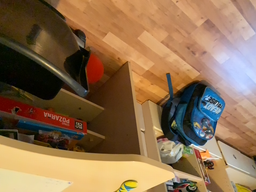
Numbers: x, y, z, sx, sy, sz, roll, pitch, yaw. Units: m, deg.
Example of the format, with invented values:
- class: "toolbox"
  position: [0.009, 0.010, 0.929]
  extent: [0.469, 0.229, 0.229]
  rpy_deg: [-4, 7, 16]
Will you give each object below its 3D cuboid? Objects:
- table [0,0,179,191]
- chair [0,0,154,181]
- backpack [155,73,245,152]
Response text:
- class: "table"
  position: [-0.530, 0.010, 0.920]
  extent: [1.100, 0.730, 0.820]
  rpy_deg: [27, 128, -33]
- class: "chair"
  position: [-0.410, -0.200, 0.740]
  extent: [0.630, 0.680, 0.630]
  rpy_deg: [22, 131, -29]
- class: "backpack"
  position: [0.500, 0.140, 1.510]
  extent: [0.430, 0.320, 0.360]
  rpy_deg: [24, 131, -37]
